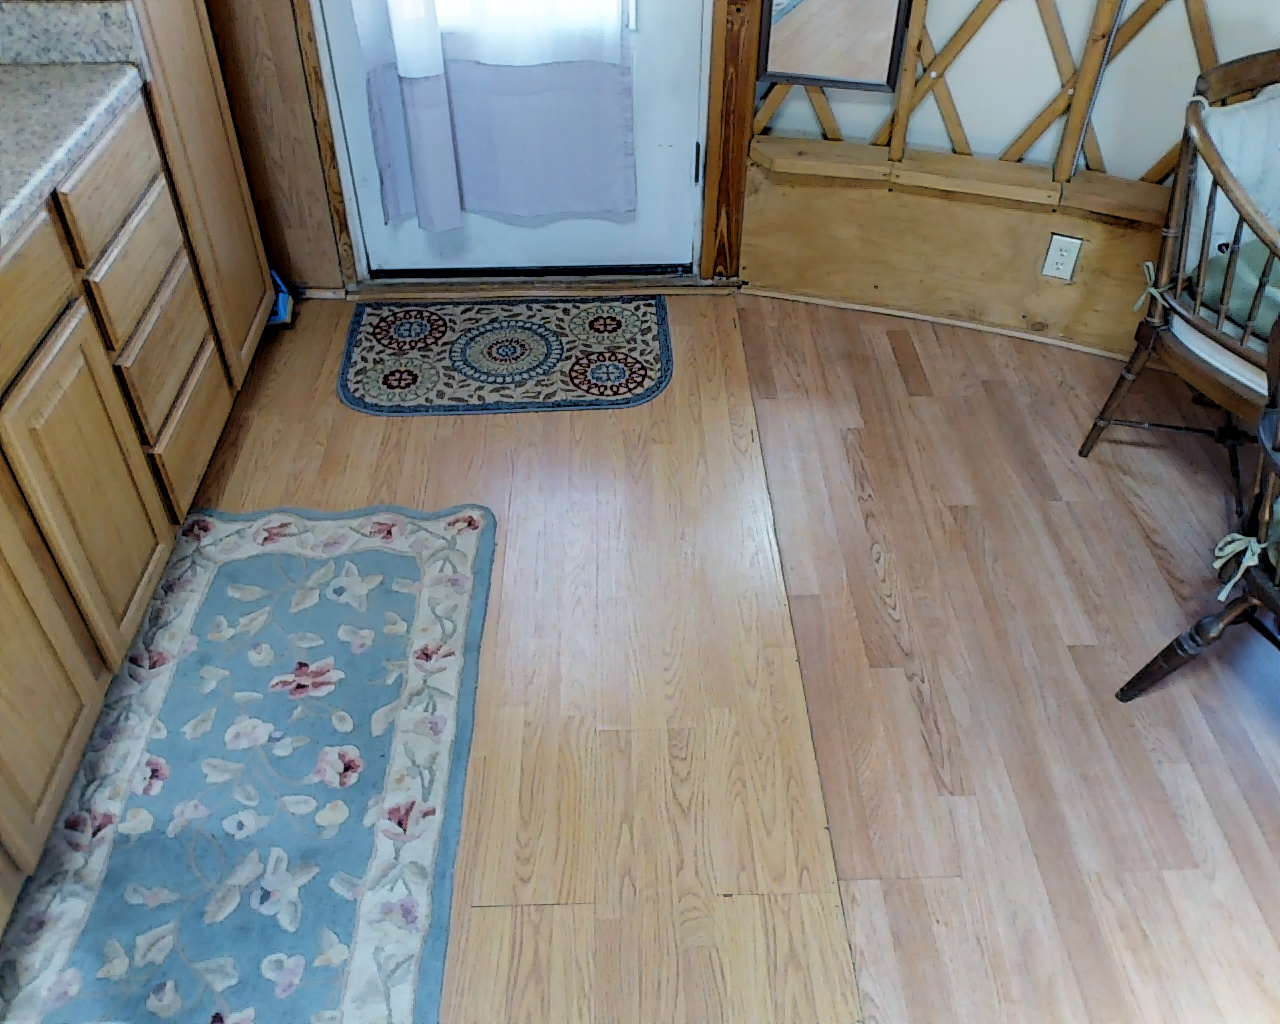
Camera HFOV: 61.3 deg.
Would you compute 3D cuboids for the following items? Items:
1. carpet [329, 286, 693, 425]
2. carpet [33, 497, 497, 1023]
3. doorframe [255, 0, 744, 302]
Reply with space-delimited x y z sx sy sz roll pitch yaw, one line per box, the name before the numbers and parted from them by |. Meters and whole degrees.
carpet | -0.320 -0.420 2.800 0.870 0.020 0.570 -2 42 -2
carpet | -0.560 0.760 1.490 0.590 0.010 2.340 -2 42 -2
doorframe | -0.320 -1.450 2.290 1.120 2.230 0.090 -1 42 -1
